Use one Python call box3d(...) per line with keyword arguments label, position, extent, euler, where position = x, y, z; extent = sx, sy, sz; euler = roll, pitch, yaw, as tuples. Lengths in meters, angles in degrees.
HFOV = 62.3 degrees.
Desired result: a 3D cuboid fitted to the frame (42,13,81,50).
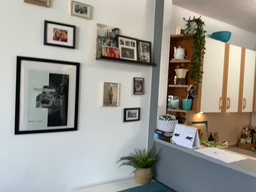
box3d(label="frame", position=(-0.480, -0.460, 1.540), extent=(0.260, 0.210, 0.040), euler=(3, 2, -29))
